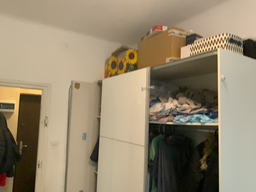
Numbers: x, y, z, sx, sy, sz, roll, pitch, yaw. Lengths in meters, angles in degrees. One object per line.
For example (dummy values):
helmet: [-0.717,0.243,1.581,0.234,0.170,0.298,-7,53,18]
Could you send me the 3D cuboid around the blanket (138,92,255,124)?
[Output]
blanket: [0.620,0.120,1.860,0.740,0.200,0.790,5,-6,-31]
